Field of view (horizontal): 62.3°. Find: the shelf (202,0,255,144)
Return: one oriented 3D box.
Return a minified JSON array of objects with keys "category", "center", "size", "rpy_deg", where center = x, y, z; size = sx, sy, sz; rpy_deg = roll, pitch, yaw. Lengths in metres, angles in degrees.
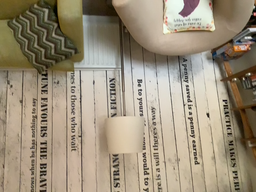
[{"category":"shelf","center":[1.230,-0.300,2.170],"size":[0.370,1.510,0.850],"rpy_deg":[-1,170,-10]}]
